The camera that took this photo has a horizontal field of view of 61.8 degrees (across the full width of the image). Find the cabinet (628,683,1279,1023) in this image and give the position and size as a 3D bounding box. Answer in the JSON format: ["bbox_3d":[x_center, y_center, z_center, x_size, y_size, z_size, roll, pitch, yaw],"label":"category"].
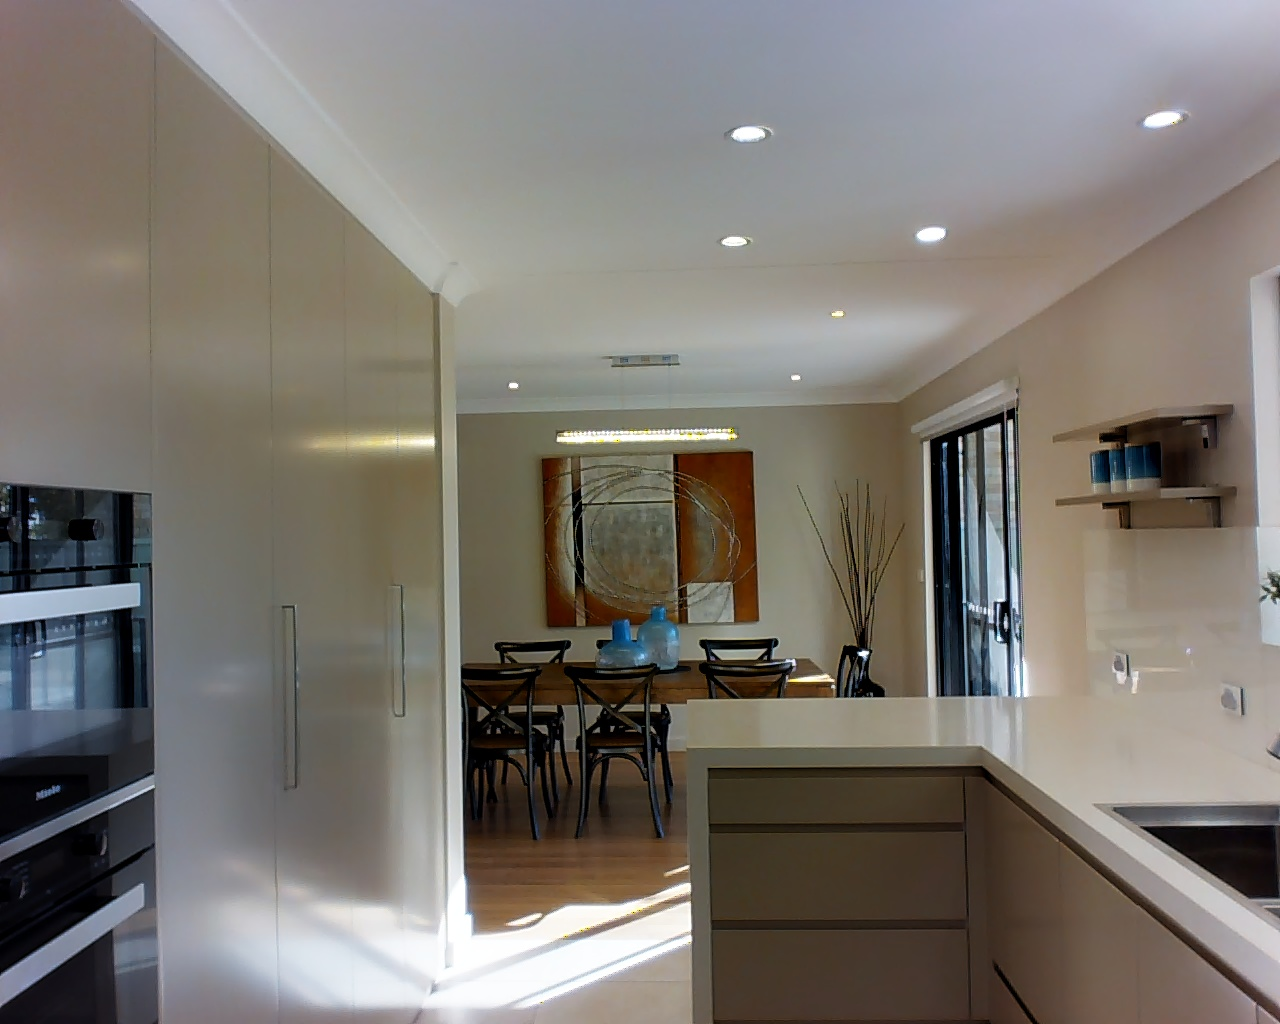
[{"bbox_3d":[0.780,1.080,1.610,1.540,0.940,4.860,-1,-1,2],"label":"cabinet"}]

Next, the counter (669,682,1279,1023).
[{"bbox_3d":[0.810,0.650,1.600,1.520,0.100,4.830,-1,-1,2],"label":"counter"}]
